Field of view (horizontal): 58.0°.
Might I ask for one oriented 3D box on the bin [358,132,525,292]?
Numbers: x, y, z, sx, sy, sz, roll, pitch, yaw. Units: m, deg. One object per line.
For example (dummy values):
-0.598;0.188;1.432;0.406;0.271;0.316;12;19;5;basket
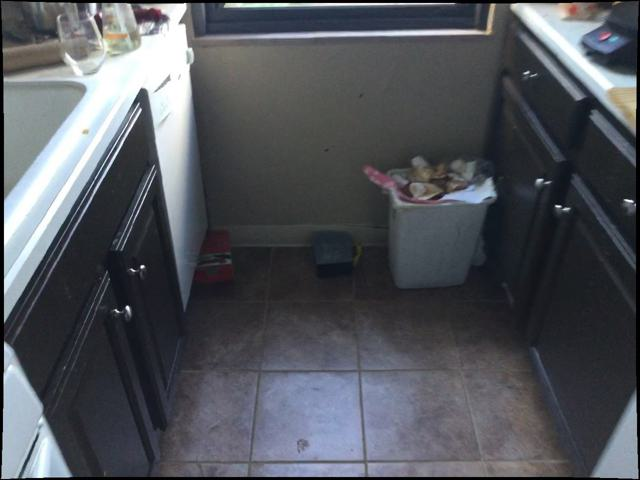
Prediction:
0.369;-0.090;1.920;0.459;0.421;0.290;-3;40;0;bin
